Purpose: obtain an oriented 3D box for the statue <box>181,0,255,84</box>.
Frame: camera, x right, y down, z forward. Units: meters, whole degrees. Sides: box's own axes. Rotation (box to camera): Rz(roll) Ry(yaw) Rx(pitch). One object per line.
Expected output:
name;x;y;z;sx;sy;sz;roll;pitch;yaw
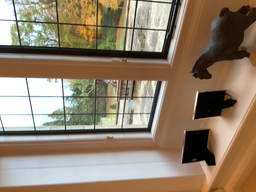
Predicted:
statue;0.600;-0.350;1.340;0.250;0.340;0.480;-104;18;-52
